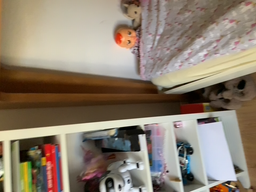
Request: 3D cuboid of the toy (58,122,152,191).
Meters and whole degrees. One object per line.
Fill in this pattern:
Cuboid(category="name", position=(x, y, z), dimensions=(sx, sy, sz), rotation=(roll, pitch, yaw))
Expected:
Cuboid(category="toy", position=(-0.130, 0.320, 1.000), dimensions=(0.400, 0.270, 0.340), rotation=(-19, 75, 56))
